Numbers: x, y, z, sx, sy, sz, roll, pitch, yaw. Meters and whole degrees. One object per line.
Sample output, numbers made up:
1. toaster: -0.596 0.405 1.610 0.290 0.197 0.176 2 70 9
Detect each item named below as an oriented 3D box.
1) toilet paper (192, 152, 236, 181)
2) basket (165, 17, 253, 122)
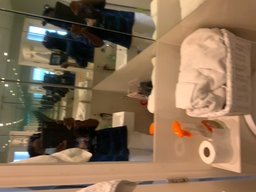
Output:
1. toilet paper: 0.370 0.300 0.920 0.130 0.120 0.090 166 108 -68
2. basket: 0.320 -0.080 0.890 0.260 0.220 0.360 161 112 -68
